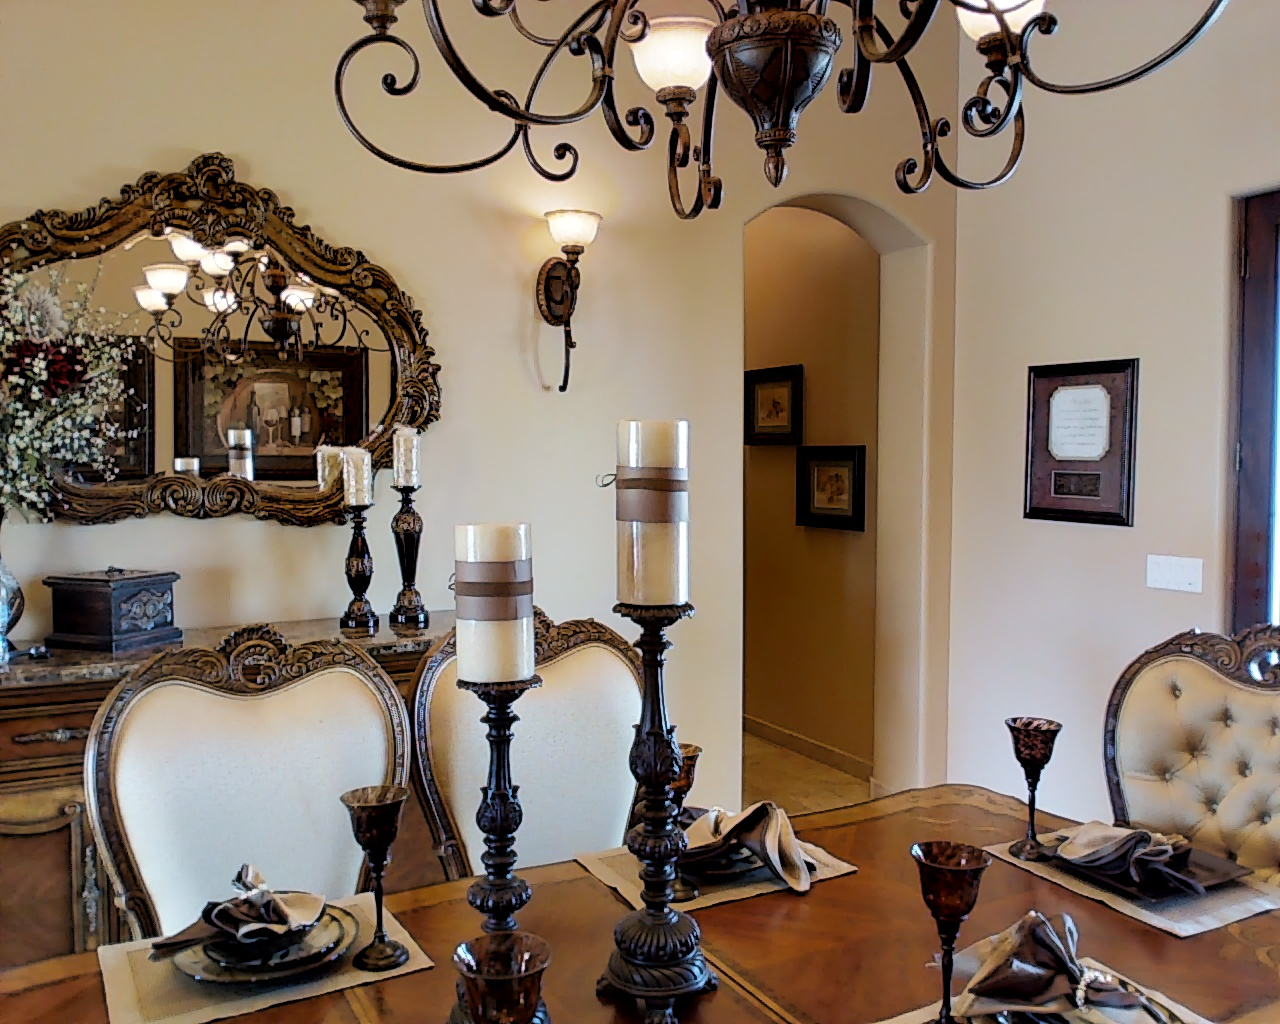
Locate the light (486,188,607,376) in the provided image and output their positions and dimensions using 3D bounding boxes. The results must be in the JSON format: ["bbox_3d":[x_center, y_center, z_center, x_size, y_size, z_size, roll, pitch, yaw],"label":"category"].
[{"bbox_3d":[-0.310,-0.750,3.550,0.350,0.570,0.180,-2,3,-28],"label":"light"}]
